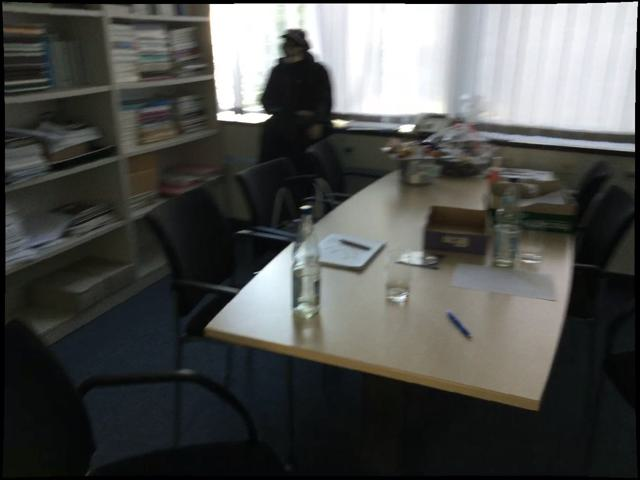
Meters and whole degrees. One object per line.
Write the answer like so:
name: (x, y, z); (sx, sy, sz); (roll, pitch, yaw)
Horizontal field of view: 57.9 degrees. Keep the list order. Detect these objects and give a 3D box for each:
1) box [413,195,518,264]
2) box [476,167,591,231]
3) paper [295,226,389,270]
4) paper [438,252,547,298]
box: (0.499, -0.050, 2.040); (0.320, 0.090, 0.420); (4, 21, 10)
box: (0.839, -0.170, 2.280); (0.390, 0.150, 0.260); (8, 22, 20)
paper: (0.080, 0.020, 1.920); (0.230, 0.020, 0.280); (8, 22, 21)
paper: (0.519, 0.100, 1.730); (0.290, 0.010, 0.220); (8, 22, 20)
